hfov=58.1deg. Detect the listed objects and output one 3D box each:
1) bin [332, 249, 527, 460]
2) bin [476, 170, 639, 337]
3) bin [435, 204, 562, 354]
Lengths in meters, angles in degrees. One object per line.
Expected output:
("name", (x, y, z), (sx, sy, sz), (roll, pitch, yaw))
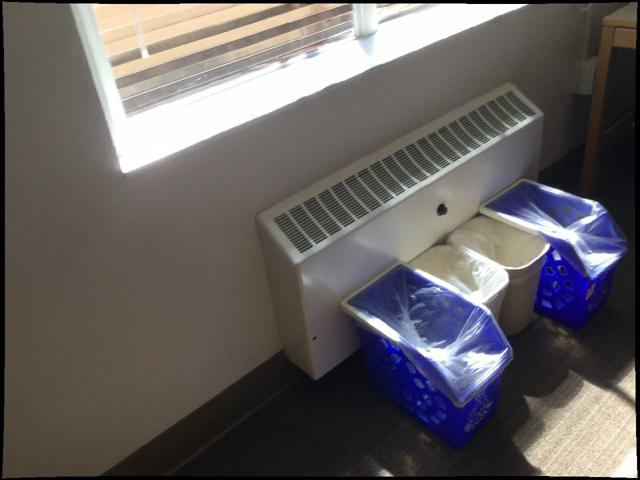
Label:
("bin", (0.319, 0.311, 1.680), (0.310, 0.341, 0.430), (-33, 39, -29))
("bin", (0.798, 0.030, 1.970), (0.310, 0.351, 0.400), (-33, 39, -29))
("bin", (0.588, 0.120, 1.910), (0.260, 0.331, 0.290), (-33, 39, -29))
